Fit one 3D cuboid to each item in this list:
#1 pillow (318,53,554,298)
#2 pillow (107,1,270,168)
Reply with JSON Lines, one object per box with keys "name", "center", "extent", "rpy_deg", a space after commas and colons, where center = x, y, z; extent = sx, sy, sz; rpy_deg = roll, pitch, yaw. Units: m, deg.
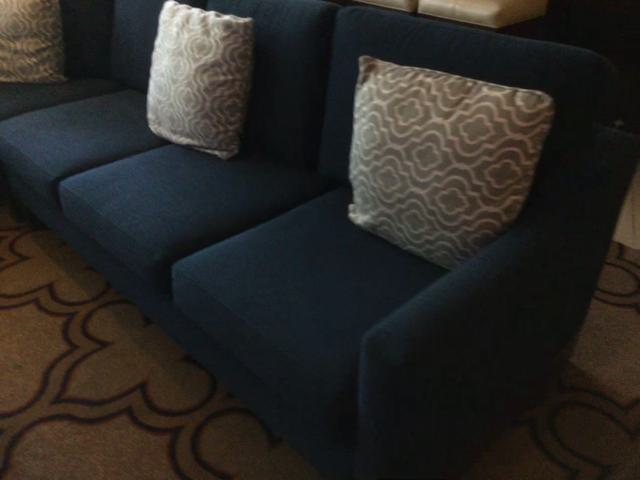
{"name": "pillow", "center": [0.250, -0.180, 1.440], "extent": [0.500, 0.440, 0.190], "rpy_deg": [27, 39, 35]}
{"name": "pillow", "center": [-0.460, -0.570, 2.050], "extent": [0.540, 0.430, 0.260], "rpy_deg": [27, 39, 35]}
